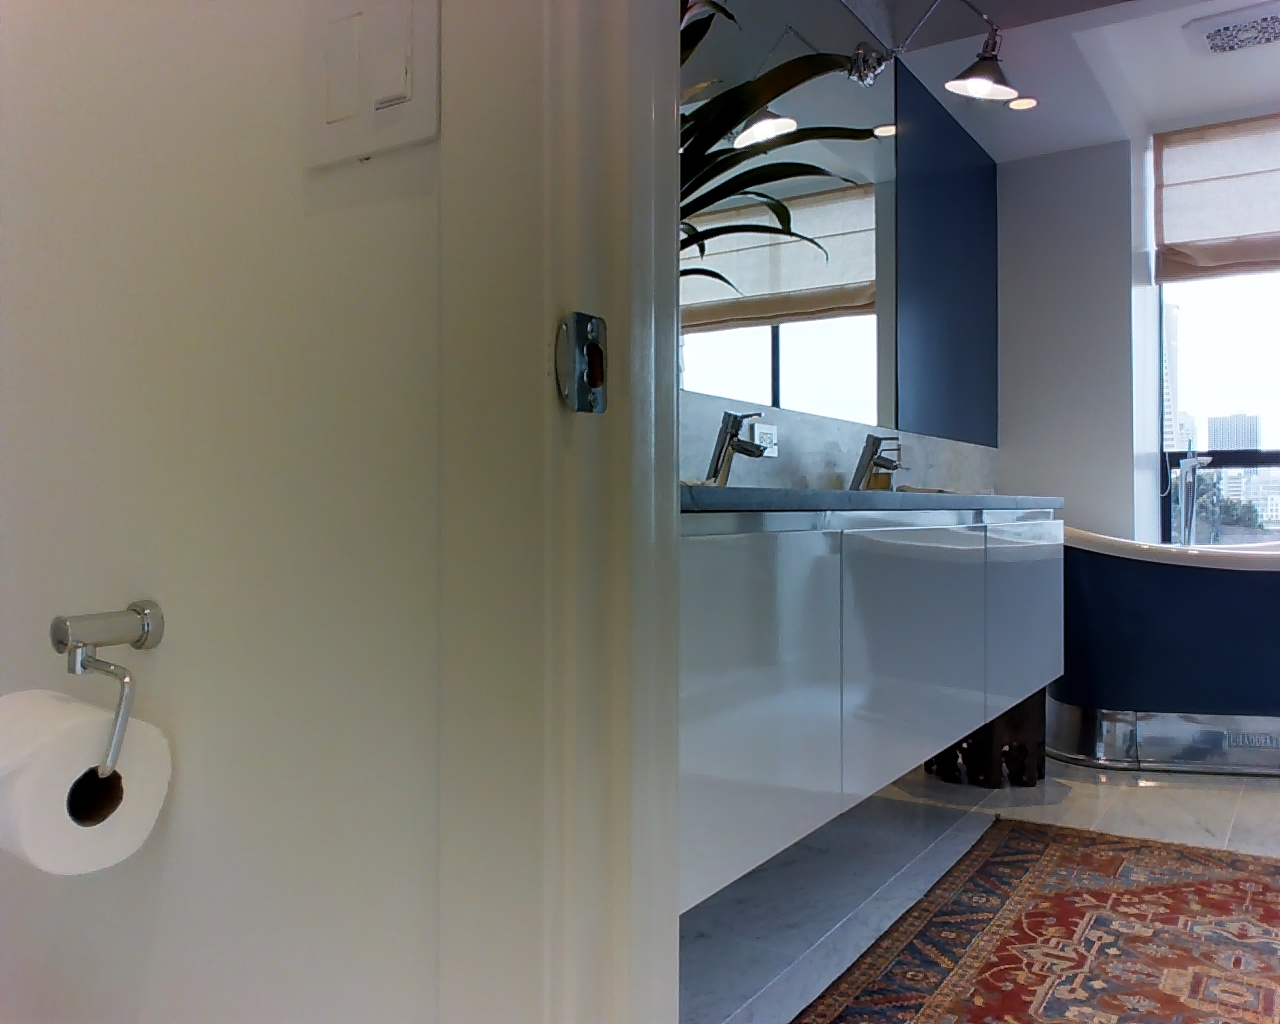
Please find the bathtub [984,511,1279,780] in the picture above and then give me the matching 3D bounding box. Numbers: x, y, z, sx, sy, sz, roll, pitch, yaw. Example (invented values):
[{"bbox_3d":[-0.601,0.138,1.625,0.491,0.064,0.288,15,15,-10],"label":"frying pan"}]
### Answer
[{"bbox_3d":[2.030,0.410,3.610,1.610,0.810,0.730,0,-1,13],"label":"bathtub"}]
